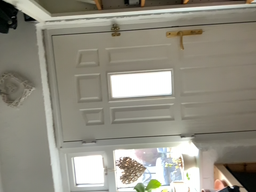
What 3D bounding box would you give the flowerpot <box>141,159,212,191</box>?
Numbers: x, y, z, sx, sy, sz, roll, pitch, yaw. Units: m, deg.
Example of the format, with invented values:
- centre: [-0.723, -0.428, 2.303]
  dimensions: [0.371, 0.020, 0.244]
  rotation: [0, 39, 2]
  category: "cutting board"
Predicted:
- centre: [0.340, 0.650, 1.570]
  dimensions: [0.240, 0.470, 0.260]
  rotation: [-83, -11, -84]
  category: "flowerpot"
